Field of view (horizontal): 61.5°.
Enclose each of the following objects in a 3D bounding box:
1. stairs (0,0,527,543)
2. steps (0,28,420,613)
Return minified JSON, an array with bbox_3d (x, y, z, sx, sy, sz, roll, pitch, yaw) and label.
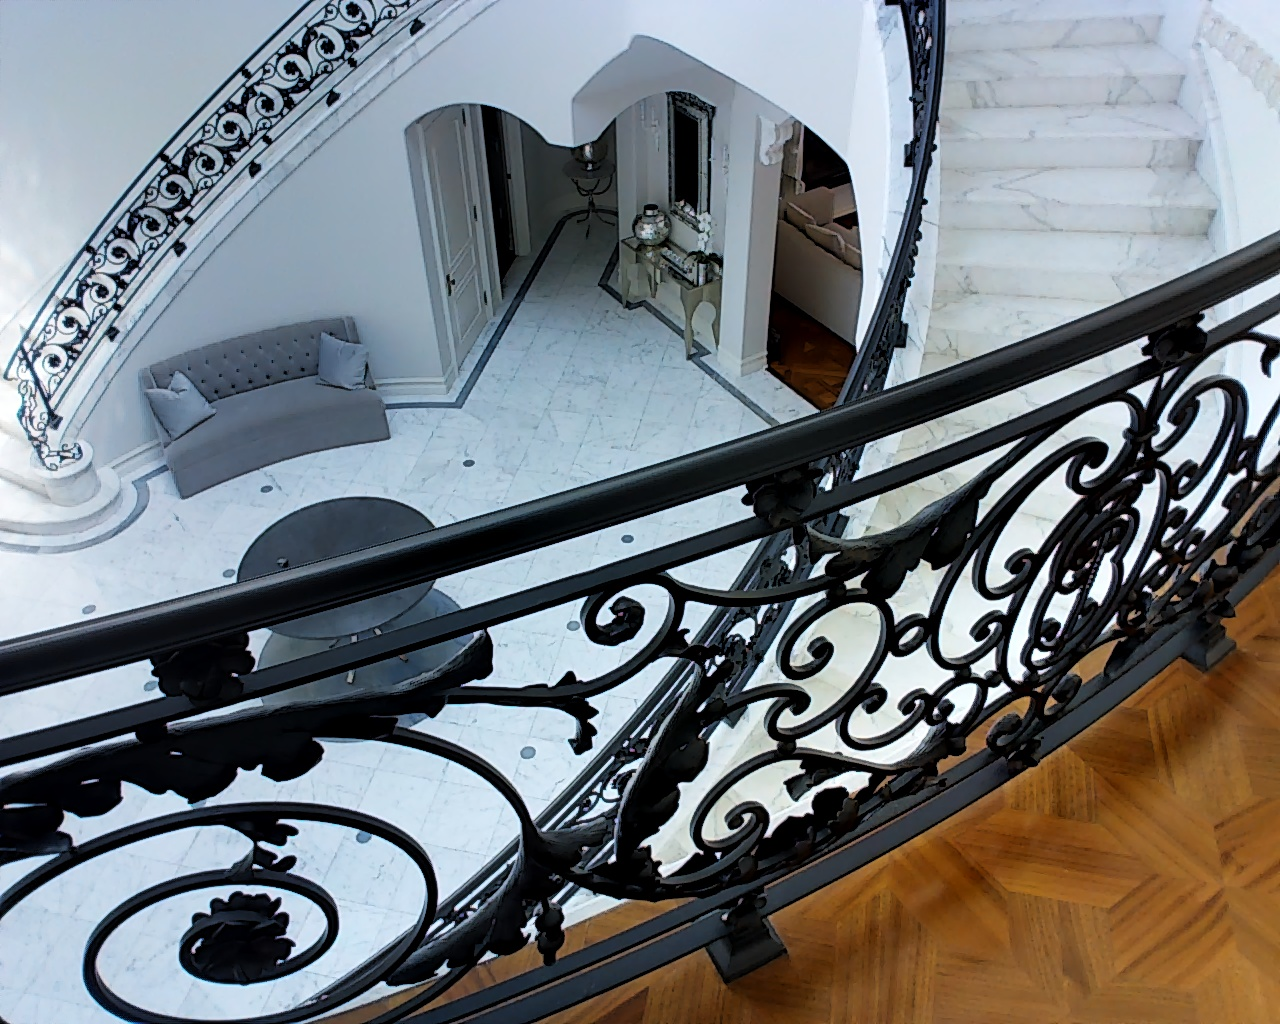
[{"bbox_3d":[-3.959,-2.550,9.010,5.380,3.650,2.130,-25,47,-25],"label":"stairs"},{"bbox_3d":[-4.119,-1.960,9.310,1.940,2.650,5.080,-25,47,-25],"label":"steps"}]
